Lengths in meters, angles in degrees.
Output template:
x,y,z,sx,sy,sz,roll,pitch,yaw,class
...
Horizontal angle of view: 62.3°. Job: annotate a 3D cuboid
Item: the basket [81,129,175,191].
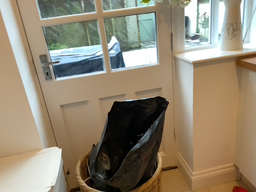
x,y,z,sx,sy,sz,roll,pitch,yaw,class
-0.020,0.560,1.320,0.450,0.410,0.550,-10,23,-7,basket
